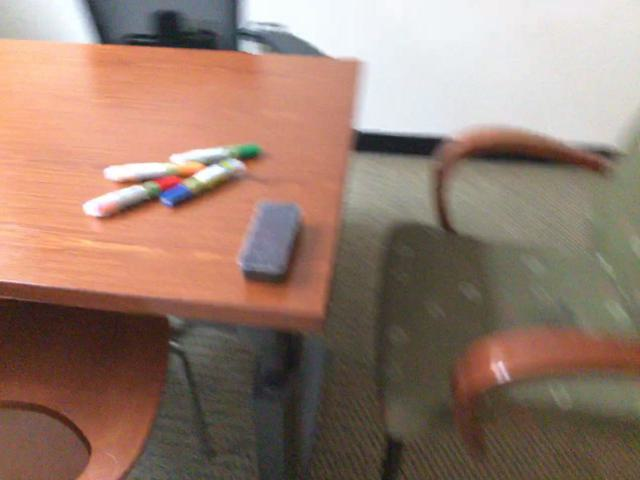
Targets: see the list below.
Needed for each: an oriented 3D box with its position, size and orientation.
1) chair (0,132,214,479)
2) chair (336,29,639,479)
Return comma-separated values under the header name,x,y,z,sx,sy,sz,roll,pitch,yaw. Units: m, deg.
name,x,y,z,sx,sy,sz,roll,pitch,yaw
chair,-0.490,0.180,0.820,0.460,0.420,0.590,6,39,8
chair,0.380,0.060,0.940,0.600,0.530,0.710,6,39,8
